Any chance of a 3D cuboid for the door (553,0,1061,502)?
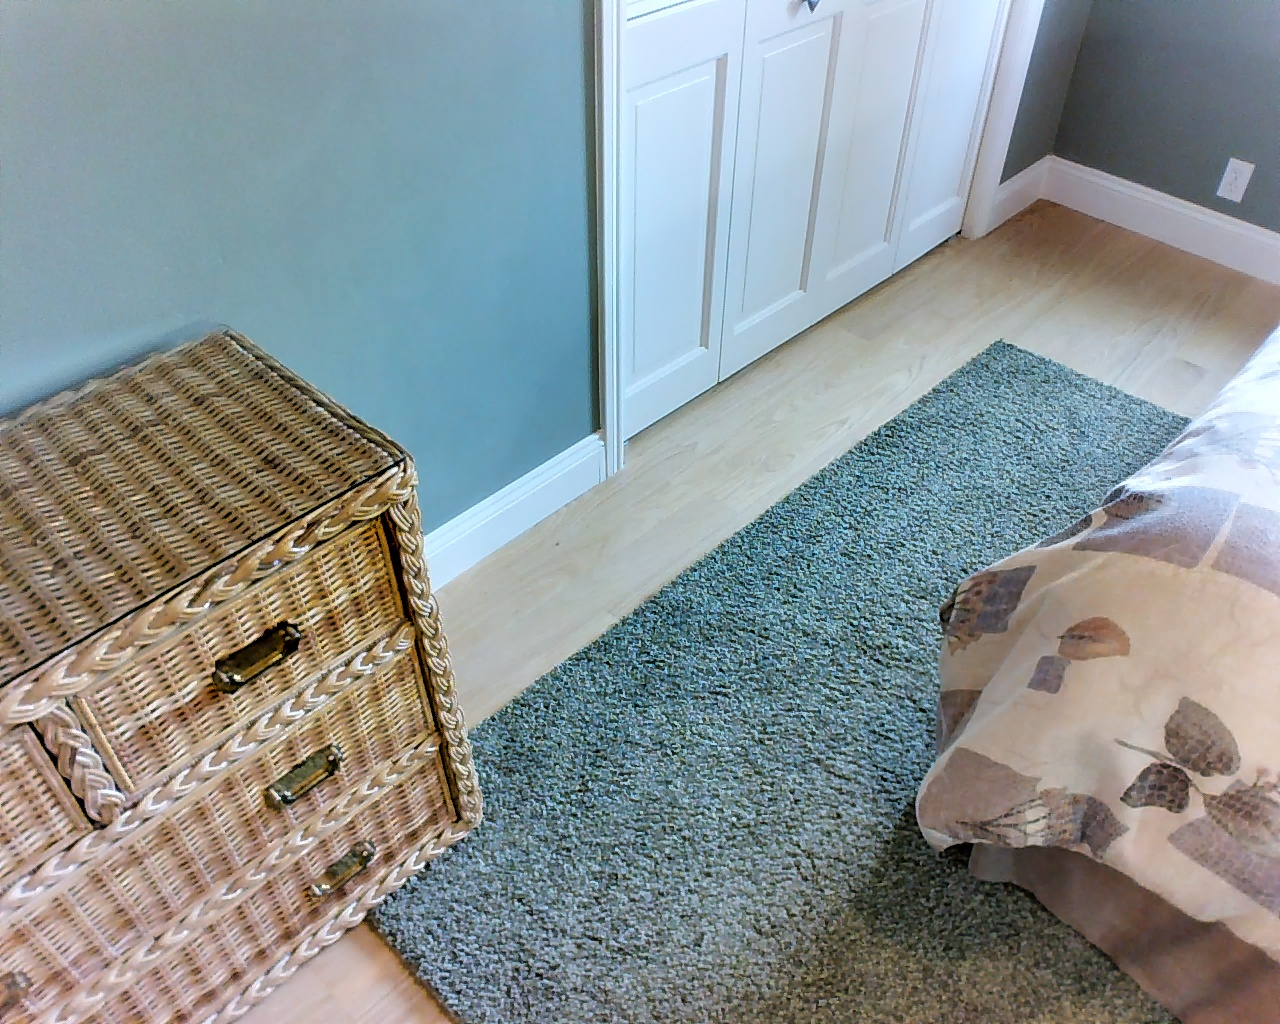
[{"bbox_3d":[0.490,-1.240,2.240,0.130,2.110,1.690,33,51,31],"label":"door"}]
